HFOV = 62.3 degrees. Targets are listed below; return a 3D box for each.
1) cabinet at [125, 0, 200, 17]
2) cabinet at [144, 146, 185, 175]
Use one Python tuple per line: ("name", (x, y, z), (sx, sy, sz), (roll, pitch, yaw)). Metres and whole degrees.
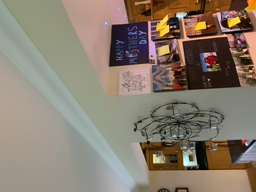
("cabinet", (0.650, -1.890, 4.080), (0.350, 1.370, 0.420), (74, -165, -57))
("cabinet", (0.820, 1.490, 4.870), (0.340, 0.860, 0.560), (74, -165, -57))
